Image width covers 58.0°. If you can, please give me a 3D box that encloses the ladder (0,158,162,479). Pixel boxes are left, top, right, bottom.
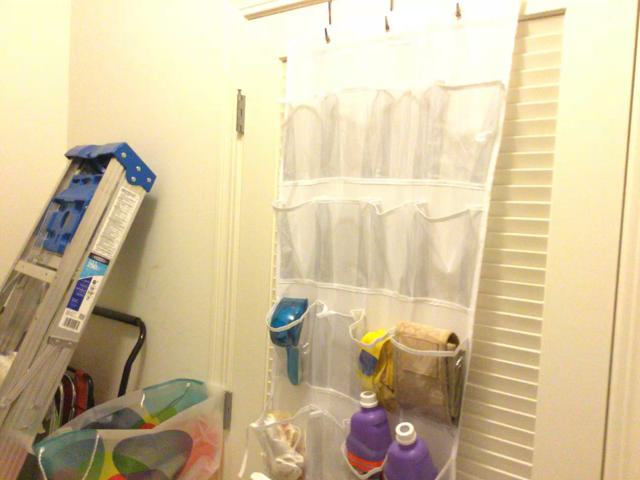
[{"bbox_3d":[-0.930,0.570,1.410,0.540,1.700,0.120,5,-22,39],"label":"ladder"}]
